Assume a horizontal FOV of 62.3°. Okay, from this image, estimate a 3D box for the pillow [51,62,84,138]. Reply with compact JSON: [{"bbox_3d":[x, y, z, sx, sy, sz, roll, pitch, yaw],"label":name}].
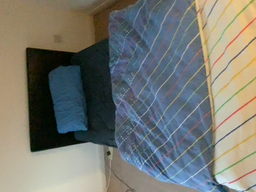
[{"bbox_3d":[-0.590,0.030,2.130,0.160,0.380,0.680,-6,93,-2],"label":"pillow"}]
